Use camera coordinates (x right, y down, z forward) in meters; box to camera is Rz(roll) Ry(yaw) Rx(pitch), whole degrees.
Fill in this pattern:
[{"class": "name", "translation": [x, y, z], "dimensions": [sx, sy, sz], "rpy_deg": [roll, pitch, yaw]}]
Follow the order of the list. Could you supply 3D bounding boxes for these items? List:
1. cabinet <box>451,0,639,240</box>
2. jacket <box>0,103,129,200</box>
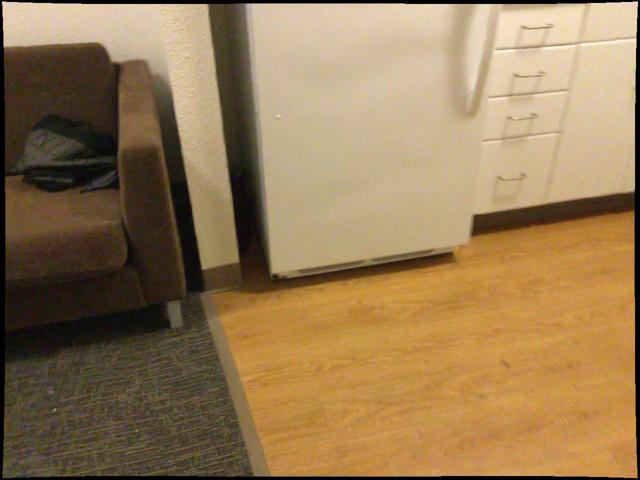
[{"class": "cabinet", "translation": [1.049, -0.480, 2.090], "dimensions": [1.109, 0.871, 0.110], "rpy_deg": [-10, 34, -10]}, {"class": "jacket", "translation": [-0.829, -0.290, 1.850], "dimensions": [0.380, 0.170, 0.250], "rpy_deg": [-10, 34, -10]}]
